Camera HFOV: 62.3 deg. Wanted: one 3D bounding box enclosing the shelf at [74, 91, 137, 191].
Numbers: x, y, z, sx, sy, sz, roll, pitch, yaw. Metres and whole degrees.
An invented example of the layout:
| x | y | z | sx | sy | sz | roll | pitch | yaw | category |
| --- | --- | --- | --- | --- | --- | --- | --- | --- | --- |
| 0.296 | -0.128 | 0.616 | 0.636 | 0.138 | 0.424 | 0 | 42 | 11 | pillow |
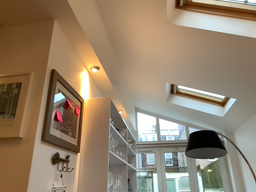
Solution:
| x | y | z | sx | sy | sz | roll | pitch | yaw | category |
| --- | --- | --- | --- | --- | --- | --- | --- | --- | --- |
| -0.140 | 1.310 | 2.610 | 0.260 | 2.030 | 2.140 | -4 | -23 | 8 | shelf |
